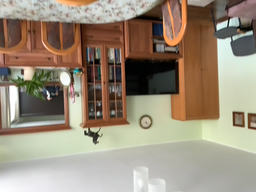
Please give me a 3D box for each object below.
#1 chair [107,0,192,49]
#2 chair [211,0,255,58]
[{"bbox_3d":[0.130,-0.920,1.610,0.490,1.010,0.460,-2,-179,-19],"label":"chair"},{"bbox_3d":[1.780,-1.090,3.510,0.550,0.830,0.520,-2,-179,-20],"label":"chair"}]
